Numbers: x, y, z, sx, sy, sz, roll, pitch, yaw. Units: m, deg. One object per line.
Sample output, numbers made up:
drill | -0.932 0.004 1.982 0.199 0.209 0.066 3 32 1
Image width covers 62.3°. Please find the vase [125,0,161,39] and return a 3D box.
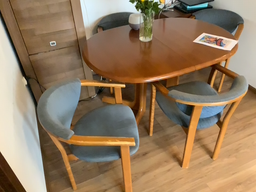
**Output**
vase | 0.120 -0.670 1.730 0.260 0.330 0.120 -16 41 -17
